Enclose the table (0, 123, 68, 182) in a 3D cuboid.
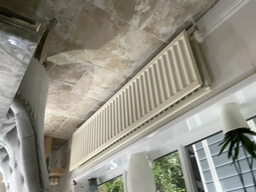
[{"bbox_3d":[-1.190,0.750,2.690,0.610,0.510,0.630,17,141,-32],"label":"table"}]
